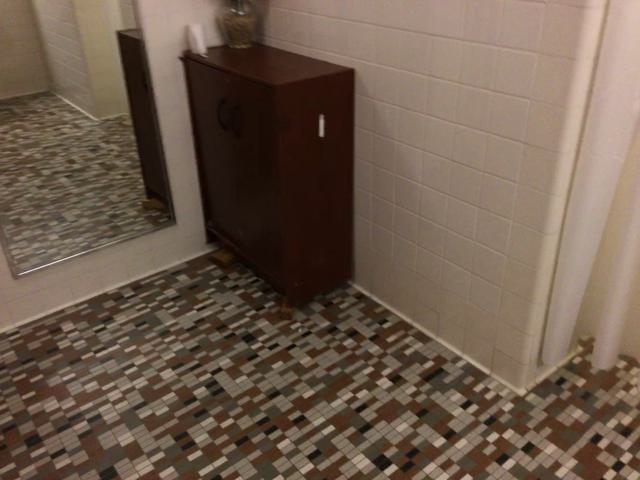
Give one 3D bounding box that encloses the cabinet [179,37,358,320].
[{"bbox_3d":[-0.180,-0.250,2.130,0.320,0.850,0.600,-22,34,-32],"label":"cabinet"}]
